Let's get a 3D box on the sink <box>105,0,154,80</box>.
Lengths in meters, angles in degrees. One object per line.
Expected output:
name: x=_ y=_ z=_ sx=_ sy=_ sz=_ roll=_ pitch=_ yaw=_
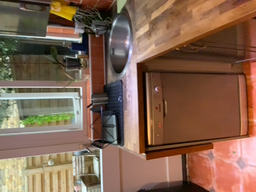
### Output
sink: x=-0.010 y=-0.390 z=1.560 sx=0.480 sy=0.170 sz=0.500 roll=176 pitch=93 yaw=-66
